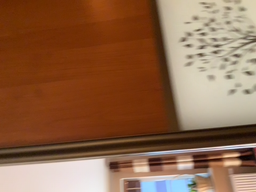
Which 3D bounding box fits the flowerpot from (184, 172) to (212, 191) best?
[{"bbox_3d":[1.010,1.280,3.110,0.240,0.320,0.260,74,-169,-60],"label":"flowerpot"}]
